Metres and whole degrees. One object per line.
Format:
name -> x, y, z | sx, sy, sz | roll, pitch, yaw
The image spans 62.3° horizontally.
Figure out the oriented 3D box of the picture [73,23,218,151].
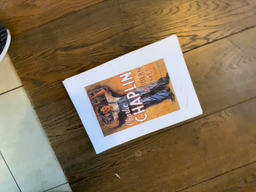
picture -> 0.050, -0.020, 0.560 | 0.310, 0.050, 0.220 | -24, 102, -1
